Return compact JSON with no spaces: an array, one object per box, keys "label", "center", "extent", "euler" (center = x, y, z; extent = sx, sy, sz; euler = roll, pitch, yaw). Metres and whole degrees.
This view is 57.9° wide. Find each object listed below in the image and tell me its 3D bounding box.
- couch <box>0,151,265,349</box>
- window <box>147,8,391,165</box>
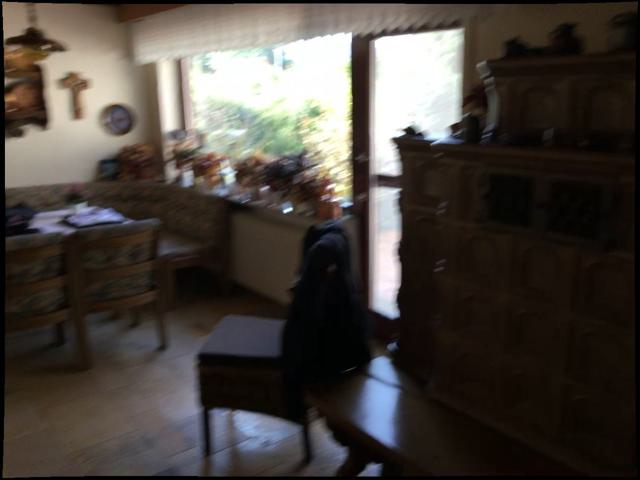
[{"label":"couch","center":[-1.858,-0.070,4.570],"extent":[2.339,0.921,1.539],"euler":[-14,20,-38]},{"label":"window","center":[-0.569,-1.151,4.420],"extent":[0.270,0.871,2.759],"euler":[-14,20,-38]}]
